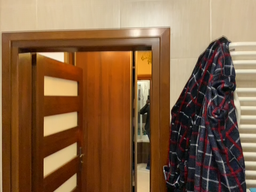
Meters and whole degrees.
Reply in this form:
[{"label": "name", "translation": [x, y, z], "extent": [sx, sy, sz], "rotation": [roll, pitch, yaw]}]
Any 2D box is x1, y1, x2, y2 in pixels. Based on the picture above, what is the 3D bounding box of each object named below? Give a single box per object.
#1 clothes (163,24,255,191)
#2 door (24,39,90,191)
[{"label": "clothes", "translation": [0.390, 0.440, 1.010], "extent": [0.420, 1.480, 0.250], "rotation": [1, 0, 5]}, {"label": "door", "translation": [-0.580, 0.480, 2.010], "extent": [0.130, 1.710, 1.250], "rotation": [1, 0, 3]}]
